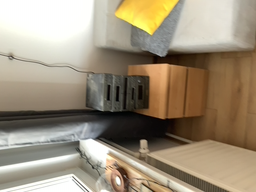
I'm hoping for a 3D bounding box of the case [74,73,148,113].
[{"bbox_3d":[-0.120,-0.030,1.460,0.360,0.360,0.230,6,95,51],"label":"case"}]

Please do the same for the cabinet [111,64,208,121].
[{"bbox_3d":[0.230,-0.050,1.700,0.590,0.470,0.360,8,97,51],"label":"cabinet"}]

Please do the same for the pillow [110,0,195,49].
[{"bbox_3d":[0.160,-0.630,1.390,0.450,0.210,0.470,-56,39,15],"label":"pillow"}]
